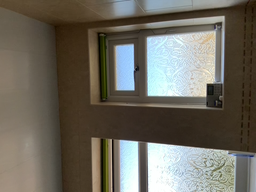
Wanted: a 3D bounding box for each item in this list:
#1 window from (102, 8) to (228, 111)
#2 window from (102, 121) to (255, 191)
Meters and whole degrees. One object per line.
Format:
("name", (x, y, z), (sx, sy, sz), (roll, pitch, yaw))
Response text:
("window", (0.260, -0.270, 1.720), (0.150, 0.960, 0.720), (-13, -76, -71))
("window", (0.390, 0.900, 1.850), (0.320, 1.210, 1.240), (-11, -78, -71))
